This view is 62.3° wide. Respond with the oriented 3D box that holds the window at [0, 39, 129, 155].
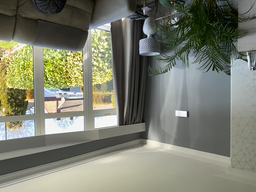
[{"bbox_3d":[-1.460,0.010,2.360,3.570,1.170,0.550,-3,-177,-44],"label":"window"}]
